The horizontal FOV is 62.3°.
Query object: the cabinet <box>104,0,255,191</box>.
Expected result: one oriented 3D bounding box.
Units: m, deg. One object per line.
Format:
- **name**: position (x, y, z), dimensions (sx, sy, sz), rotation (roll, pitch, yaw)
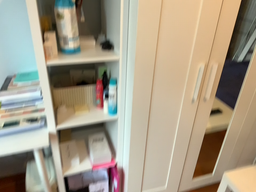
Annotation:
- **cabinet**: position (0.490, -0.210, 1.390), dimensions (1.190, 1.890, 0.550), rotation (-7, 31, -18)
